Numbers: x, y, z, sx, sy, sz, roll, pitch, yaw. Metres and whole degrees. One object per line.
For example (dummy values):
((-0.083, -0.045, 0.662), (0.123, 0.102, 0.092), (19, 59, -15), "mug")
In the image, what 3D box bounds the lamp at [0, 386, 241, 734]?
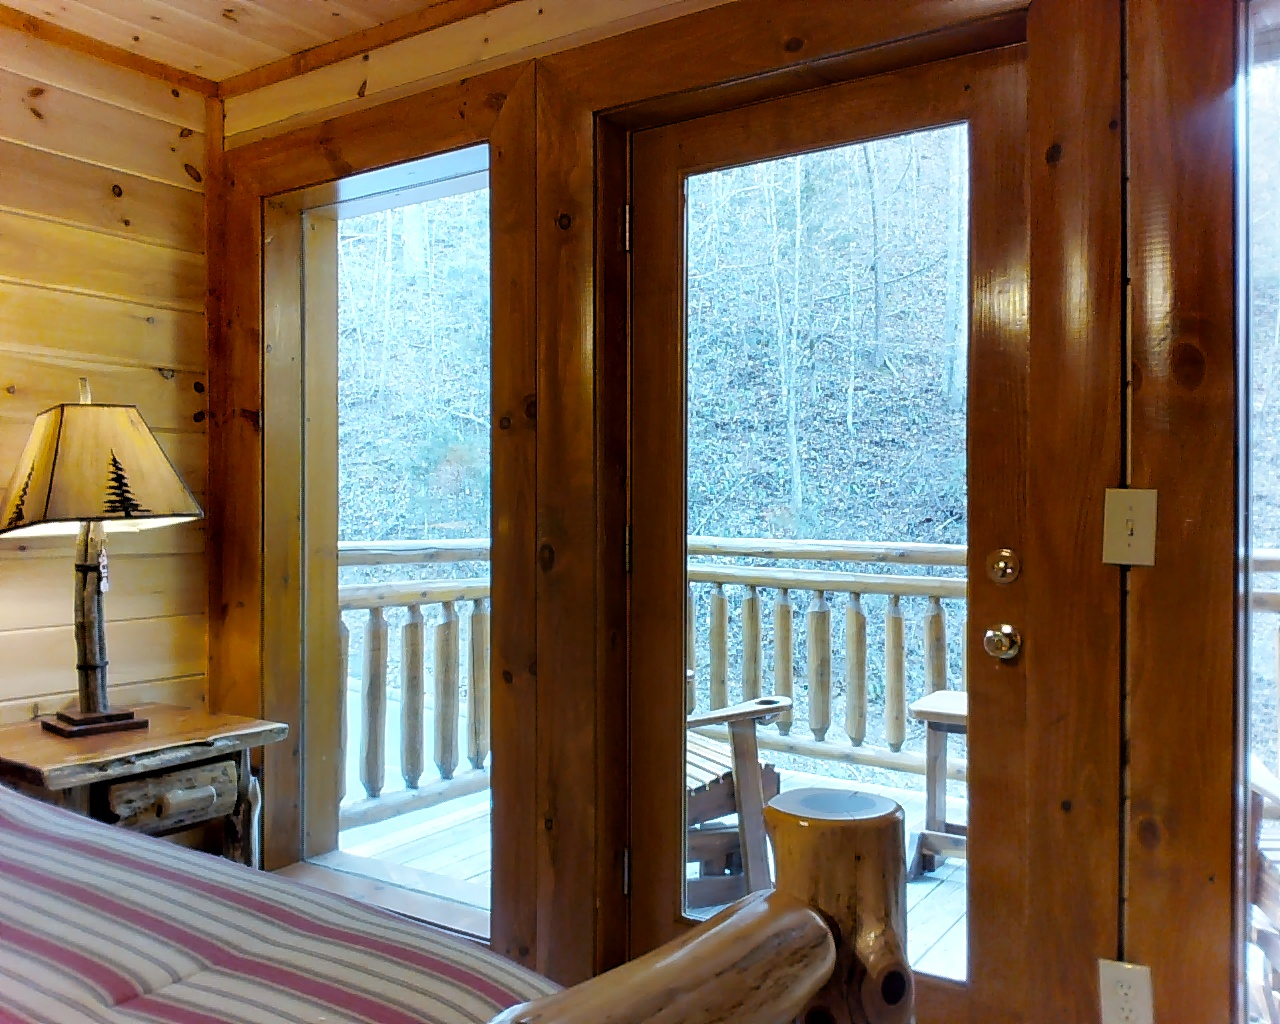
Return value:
((-1.290, 0.100, 2.570), (0.430, 0.730, 0.460), (1, 0, 33), "lamp")

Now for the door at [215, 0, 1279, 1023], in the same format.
((0.320, 0.050, 2.120), (3.589, 2.181, 0.070), (1, 0, 33), "door")
